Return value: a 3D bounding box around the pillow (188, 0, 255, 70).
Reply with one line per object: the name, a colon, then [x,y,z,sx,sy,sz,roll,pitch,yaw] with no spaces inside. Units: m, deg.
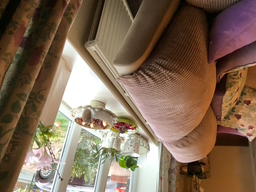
pillow: [0.460,-0.350,0.980,0.330,0.280,0.350,-3,151,19]
